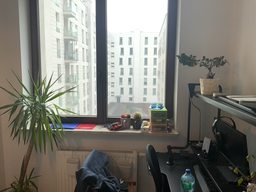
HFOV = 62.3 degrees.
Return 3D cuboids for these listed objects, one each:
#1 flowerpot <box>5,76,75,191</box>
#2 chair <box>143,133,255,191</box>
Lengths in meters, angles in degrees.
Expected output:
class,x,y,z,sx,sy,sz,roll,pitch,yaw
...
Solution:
class,x,y,z,sx,sy,sz,roll,pitch,yaw
flowerpot,-1.000,0.520,2.420,0.610,1.470,0.540,-4,9,-30
chair,0.440,0.880,1.610,0.650,1.000,0.700,1,7,5
